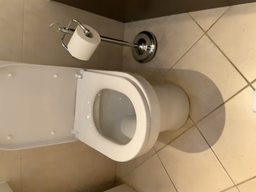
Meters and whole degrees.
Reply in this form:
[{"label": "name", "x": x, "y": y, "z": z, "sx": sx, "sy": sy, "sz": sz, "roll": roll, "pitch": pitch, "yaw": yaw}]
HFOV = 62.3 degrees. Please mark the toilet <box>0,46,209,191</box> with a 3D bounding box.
[{"label": "toilet", "x": -0.160, "y": 0.050, "z": 0.980, "sx": 0.650, "sy": 0.890, "sz": 0.390, "roll": 9, "pitch": 98, "yaw": 45}]
